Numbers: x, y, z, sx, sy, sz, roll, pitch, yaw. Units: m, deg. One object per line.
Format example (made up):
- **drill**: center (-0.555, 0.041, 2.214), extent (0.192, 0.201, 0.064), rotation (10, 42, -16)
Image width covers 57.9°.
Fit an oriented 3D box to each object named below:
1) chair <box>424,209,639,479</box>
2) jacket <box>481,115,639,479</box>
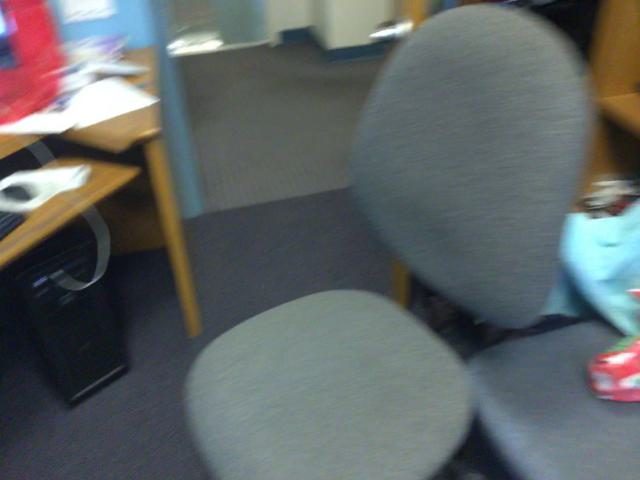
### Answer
- **chair**: center (0.550, 0.270, 1.000), extent (0.510, 0.300, 0.630), rotation (-12, 35, -10)
- **jacket**: center (0.650, 0.120, 1.050), extent (0.420, 0.480, 0.590), rotation (-12, 35, -10)
